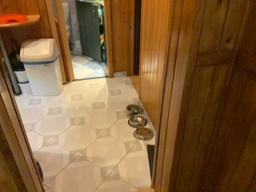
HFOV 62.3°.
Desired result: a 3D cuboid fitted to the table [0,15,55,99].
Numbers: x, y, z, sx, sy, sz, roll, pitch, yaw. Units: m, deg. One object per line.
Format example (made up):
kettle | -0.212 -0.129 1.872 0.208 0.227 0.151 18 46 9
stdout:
table | -1.530 -0.410 2.380 1.210 0.850 0.310 -7 33 -11
